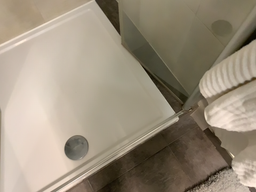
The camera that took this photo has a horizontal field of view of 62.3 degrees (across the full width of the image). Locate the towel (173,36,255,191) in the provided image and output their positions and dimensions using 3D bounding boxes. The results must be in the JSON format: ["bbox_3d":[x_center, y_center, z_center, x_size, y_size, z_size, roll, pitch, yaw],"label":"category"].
[{"bbox_3d":[0.390,0.030,0.370,0.190,1.420,0.370,-23,71,-8],"label":"towel"}]
